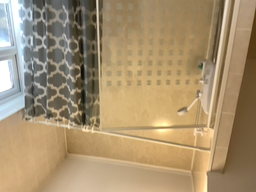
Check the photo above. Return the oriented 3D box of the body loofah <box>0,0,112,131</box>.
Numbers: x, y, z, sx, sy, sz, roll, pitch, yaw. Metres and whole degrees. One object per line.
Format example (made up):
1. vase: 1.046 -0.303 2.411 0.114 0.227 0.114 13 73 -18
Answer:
1. body loofah: -0.500 -0.520 1.520 0.730 1.520 0.220 6 -160 12
